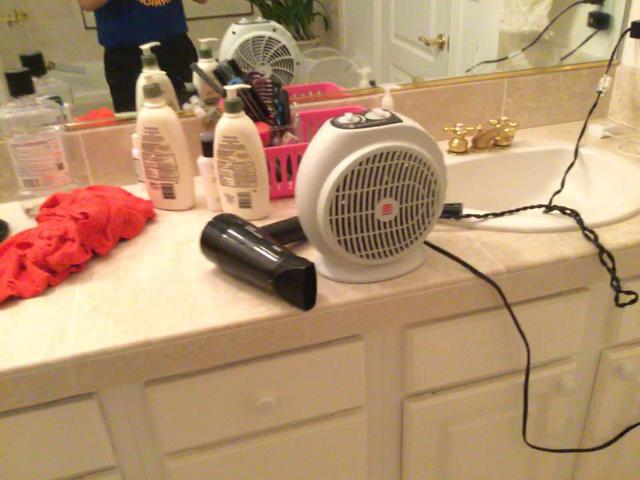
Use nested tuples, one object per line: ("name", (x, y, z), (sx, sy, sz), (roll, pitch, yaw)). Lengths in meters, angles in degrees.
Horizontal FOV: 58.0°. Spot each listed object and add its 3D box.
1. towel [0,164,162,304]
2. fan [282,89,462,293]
("towel", (-0.440, -0.020, 0.960), (0.330, 0.100, 0.310), (-8, 24, -11))
("fan", (0.070, -0.080, 0.850), (0.210, 0.240, 0.160), (-8, 24, -11))
